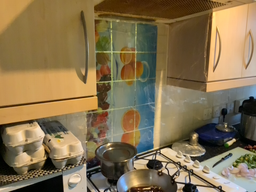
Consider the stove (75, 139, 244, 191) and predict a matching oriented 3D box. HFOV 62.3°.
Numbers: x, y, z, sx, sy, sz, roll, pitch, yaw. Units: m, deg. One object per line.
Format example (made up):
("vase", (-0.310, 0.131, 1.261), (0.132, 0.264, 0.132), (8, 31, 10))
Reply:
("stove", (0.130, 0.380, 1.000), (0.590, 0.040, 0.520), (-8, 15, -34))
